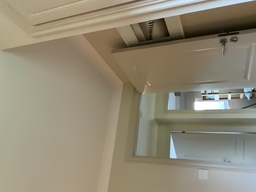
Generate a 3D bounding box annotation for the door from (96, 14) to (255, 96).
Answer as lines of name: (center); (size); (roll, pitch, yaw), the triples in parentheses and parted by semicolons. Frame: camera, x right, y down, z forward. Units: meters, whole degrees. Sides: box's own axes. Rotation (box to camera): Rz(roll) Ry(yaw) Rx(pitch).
door: (0.840, -0.310, 1.980); (0.970, 2.070, 0.100); (50, -138, -55)
